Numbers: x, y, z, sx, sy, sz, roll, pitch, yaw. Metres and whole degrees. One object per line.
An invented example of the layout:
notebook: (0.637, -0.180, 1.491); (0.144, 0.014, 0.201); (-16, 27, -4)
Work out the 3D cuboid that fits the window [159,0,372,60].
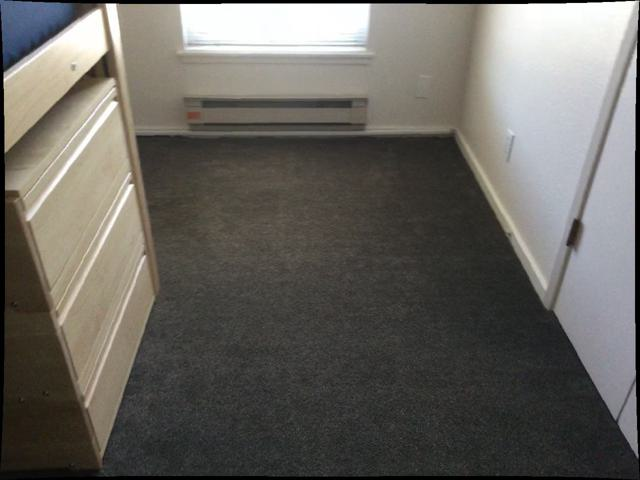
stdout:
window: (-0.240, -1.292, 2.550); (0.958, 0.931, 0.150); (-1, 34, -4)
